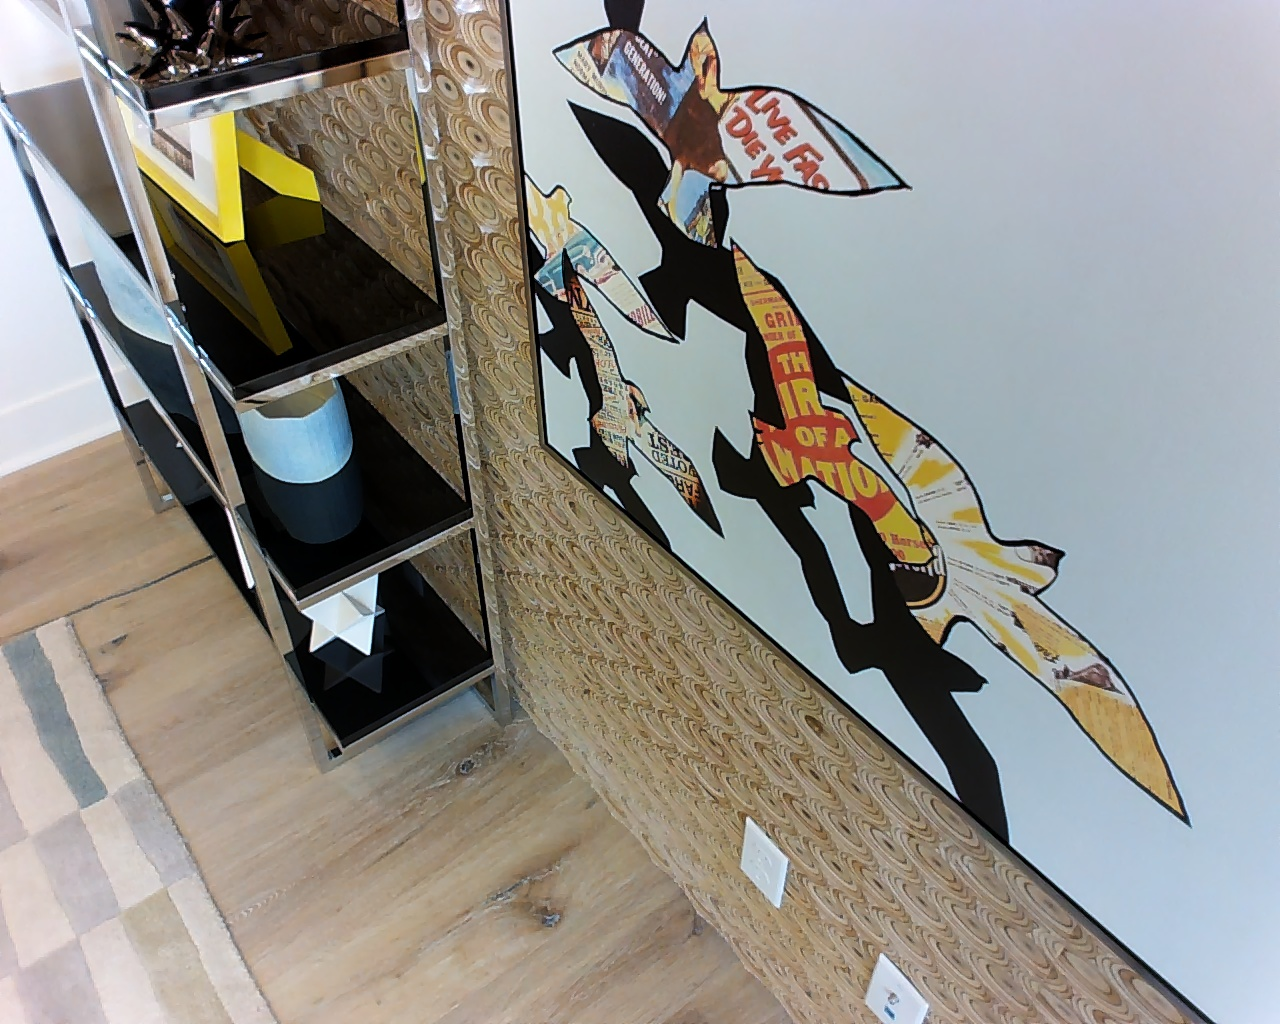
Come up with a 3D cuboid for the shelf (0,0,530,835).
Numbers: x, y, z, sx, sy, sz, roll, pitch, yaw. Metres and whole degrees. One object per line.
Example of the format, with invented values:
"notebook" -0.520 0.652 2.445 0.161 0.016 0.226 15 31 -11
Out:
"shelf" -0.620 -0.350 1.580 0.300 1.420 1.010 -27 48 -27
